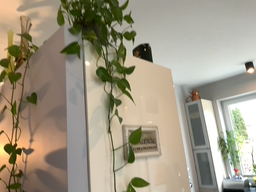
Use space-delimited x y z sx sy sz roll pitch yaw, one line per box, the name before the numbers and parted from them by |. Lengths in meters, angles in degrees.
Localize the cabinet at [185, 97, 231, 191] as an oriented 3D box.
cabinet | 1.320 0.790 3.560 0.410 1.460 0.330 8 -20 -43
